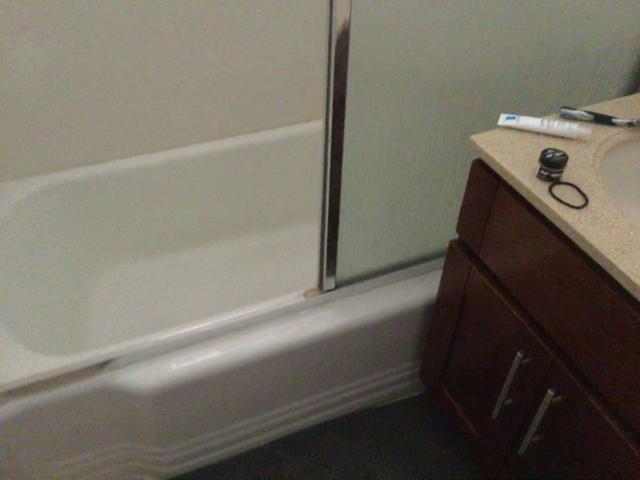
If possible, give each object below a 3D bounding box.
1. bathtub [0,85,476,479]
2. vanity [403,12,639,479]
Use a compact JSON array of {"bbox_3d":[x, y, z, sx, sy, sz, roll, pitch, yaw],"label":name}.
[{"bbox_3d":[-0.320,0.100,1.470,1.040,0.510,0.800,-14,44,-17],"label":"bathtub"},{"bbox_3d":[0.610,0.160,1.000,0.590,0.860,0.660,-14,44,-17],"label":"vanity"}]
